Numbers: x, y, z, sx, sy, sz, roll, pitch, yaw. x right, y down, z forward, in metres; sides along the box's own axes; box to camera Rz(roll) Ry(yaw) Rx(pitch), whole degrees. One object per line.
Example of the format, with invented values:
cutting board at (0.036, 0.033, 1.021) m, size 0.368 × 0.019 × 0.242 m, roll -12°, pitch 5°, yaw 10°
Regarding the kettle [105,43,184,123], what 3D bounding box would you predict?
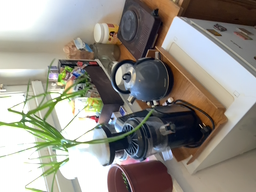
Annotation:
kettle at (0.060, -0.060, 0.980) m, size 0.220 × 0.200 × 0.270 m, roll 58°, pitch 140°, yaw 35°
